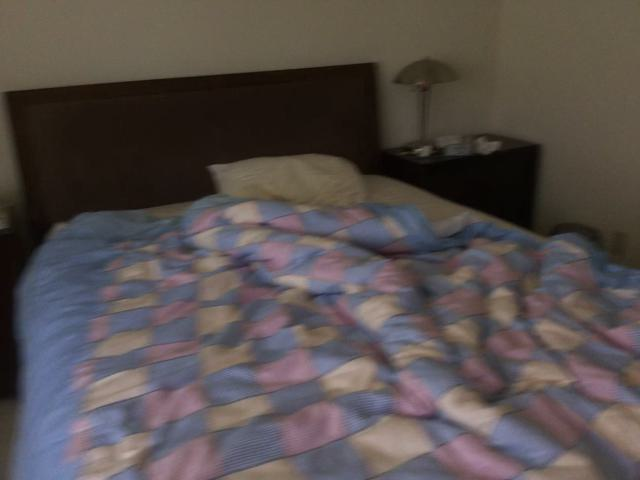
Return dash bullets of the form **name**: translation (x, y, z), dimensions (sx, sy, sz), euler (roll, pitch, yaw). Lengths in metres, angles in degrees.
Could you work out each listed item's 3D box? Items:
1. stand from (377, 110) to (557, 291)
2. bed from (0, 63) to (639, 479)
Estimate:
- **stand**: translation (0.730, -0.230, 2.930), dimensions (0.770, 0.730, 0.390), euler (-12, 22, -22)
- **bed**: translation (0.040, 0.160, 1.640), dimensions (1.760, 1.100, 2.290), euler (-12, 22, -23)
